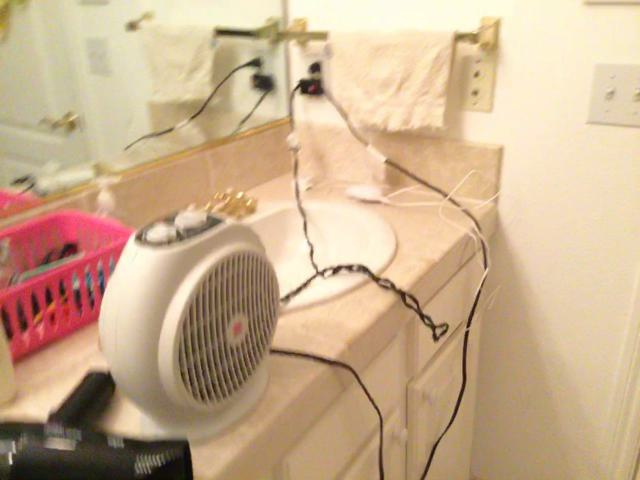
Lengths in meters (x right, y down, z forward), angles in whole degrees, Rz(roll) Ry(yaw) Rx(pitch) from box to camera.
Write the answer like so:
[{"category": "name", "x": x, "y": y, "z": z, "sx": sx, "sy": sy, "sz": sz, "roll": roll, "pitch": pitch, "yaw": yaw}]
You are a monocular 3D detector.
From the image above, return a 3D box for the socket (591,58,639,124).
[{"category": "socket", "x": 0.540, "y": -0.260, "z": 1.010, "sx": 0.110, "sy": 0.110, "sz": 0.020, "roll": 10, "pitch": 25, "yaw": 34}]
